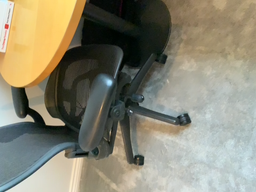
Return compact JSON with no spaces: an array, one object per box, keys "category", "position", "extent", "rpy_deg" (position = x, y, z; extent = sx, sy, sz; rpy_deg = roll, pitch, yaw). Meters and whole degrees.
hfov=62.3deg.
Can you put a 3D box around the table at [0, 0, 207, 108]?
[{"category":"table","position":[-0.160,-0.420,1.070],"extent":[0.800,0.720,0.800],"rpy_deg":[13,95,41]}]
